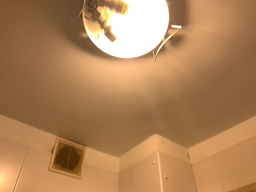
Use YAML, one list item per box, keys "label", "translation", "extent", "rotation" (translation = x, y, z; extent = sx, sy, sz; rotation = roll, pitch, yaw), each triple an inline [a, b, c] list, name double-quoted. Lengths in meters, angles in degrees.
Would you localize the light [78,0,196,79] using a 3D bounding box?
- label: "light"
  translation: [0.020, -0.200, 0.640]
  extent: [0.080, 0.310, 0.240]
  rotation: [63, -160, -54]
